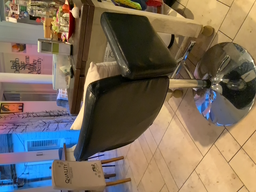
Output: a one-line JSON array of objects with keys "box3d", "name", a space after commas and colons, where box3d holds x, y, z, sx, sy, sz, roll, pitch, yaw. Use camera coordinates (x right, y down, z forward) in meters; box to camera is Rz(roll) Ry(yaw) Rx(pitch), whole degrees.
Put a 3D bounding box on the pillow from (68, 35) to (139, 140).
[{"box3d": [-0.110, -0.060, 1.040, 0.120, 0.390, 0.370, 24, 123, 4], "name": "pillow"}]
